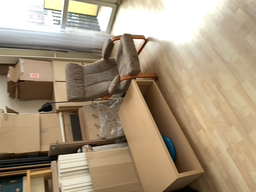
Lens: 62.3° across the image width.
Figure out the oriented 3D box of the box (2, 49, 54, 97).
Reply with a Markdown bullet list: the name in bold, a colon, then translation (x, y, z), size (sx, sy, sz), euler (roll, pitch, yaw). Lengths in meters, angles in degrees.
- **box**: translation (-1.700, -0.380, 3.630), size (0.530, 0.730, 0.580), euler (117, 143, -44)

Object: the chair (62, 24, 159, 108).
- **chair**: translation (-0.300, -0.350, 2.900), size (0.790, 1.020, 0.750), euler (131, 132, -54)
